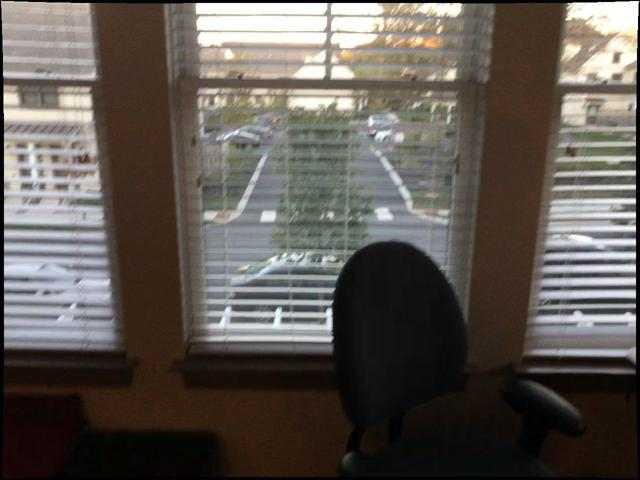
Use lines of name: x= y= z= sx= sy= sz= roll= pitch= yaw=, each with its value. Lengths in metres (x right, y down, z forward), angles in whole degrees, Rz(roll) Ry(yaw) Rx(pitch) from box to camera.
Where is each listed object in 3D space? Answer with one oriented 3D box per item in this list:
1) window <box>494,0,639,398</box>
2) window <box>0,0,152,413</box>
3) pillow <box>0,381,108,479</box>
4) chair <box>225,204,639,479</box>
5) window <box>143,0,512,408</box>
window: x=1.077 y=-0.381 z=1.660 sx=0.948 sy=1.844 sz=0.120 roll=0 pitch=18 yaw=2
window: x=-1.057 y=-0.381 z=1.610 sx=0.988 sy=1.924 sz=0.080 roll=1 pitch=18 yaw=2
pillow: x=-1.028 y=0.581 z=1.710 sx=0.658 sy=0.160 sz=0.340 roll=1 pitch=18 yaw=2
chair: x=0.349 y=0.571 z=1.450 sx=0.849 sy=1.072 sz=0.790 roll=-12 pitch=21 yaw=-32
window: x=0.020 y=-0.381 z=1.680 sx=0.978 sy=1.914 sz=0.130 roll=0 pitch=18 yaw=1
